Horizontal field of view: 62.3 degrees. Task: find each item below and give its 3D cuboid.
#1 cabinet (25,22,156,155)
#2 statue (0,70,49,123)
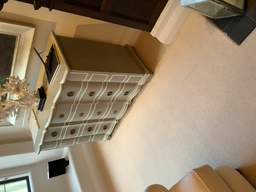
[{"bbox_3d":[-0.440,-0.010,2.130,1.110,0.840,0.550,-57,48,35],"label":"cabinet"},{"bbox_3d":[-0.950,0.010,1.730,0.380,0.470,0.210,-58,48,34],"label":"statue"}]
